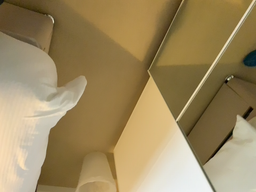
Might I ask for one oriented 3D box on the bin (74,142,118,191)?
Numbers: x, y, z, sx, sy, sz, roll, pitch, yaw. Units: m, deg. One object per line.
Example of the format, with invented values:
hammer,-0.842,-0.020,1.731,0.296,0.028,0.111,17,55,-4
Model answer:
bin,-0.250,0.620,1.700,0.260,0.280,0.340,-14,127,-2
